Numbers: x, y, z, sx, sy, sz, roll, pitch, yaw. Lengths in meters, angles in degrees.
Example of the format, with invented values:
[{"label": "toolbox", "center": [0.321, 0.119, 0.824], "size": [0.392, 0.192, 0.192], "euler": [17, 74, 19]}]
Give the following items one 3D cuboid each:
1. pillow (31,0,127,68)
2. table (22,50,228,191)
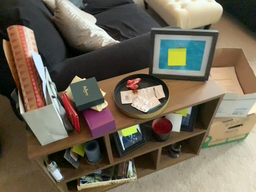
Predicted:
[{"label": "pillow", "center": [-0.290, -0.420, 1.310], "size": [0.420, 0.410, 0.180], "euler": [24, 72, 36]}, {"label": "table", "center": [-0.010, 0.190, 1.170], "size": [0.860, 0.580, 0.350], "euler": [-18, 50, -13]}]
